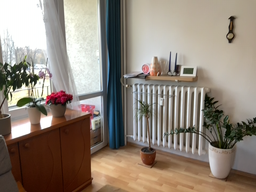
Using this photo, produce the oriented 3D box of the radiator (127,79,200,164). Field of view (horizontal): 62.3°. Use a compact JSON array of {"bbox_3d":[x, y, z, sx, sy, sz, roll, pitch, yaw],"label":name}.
[{"bbox_3d":[0.480,0.320,3.090,0.990,1.040,0.280,6,13,30],"label":"radiator"}]
